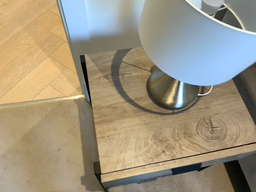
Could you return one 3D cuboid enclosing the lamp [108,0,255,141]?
[{"bbox_3d":[0.120,-0.160,0.470,0.290,0.440,0.360,-7,62,-7],"label":"lamp"}]
